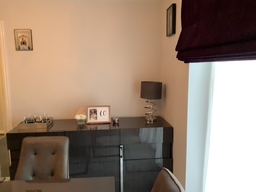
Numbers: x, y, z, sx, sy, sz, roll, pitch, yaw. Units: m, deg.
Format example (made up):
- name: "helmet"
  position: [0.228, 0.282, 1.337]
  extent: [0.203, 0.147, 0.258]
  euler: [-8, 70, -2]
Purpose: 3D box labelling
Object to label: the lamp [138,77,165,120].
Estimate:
- name: "lamp"
  position: [0.280, 0.020, 2.650]
  extent: [0.280, 0.490, 0.340]
  euler: [0, 9, -3]
